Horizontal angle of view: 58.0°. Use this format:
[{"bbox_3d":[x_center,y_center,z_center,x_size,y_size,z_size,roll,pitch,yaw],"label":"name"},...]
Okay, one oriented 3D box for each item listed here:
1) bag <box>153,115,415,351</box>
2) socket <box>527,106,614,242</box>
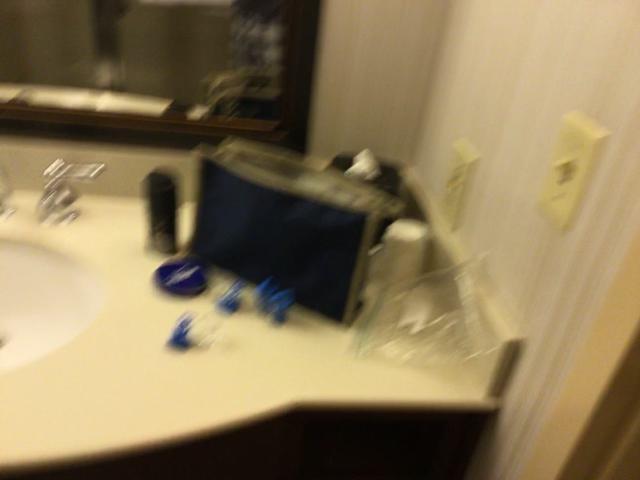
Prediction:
[{"bbox_3d":[-0.060,-0.030,0.870,0.310,0.200,0.210,23,32,24],"label":"bag"},{"bbox_3d":[0.260,-0.070,0.610,0.010,0.120,0.080,3,29,-11],"label":"socket"}]
